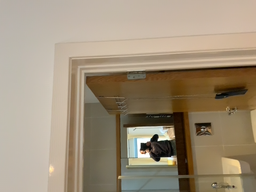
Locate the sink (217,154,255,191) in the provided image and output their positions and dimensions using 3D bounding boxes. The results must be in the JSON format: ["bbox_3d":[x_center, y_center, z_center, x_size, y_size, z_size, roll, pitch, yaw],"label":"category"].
[{"bbox_3d":[1.150,0.950,2.190,0.470,0.200,0.650,76,-169,-78],"label":"sink"}]
